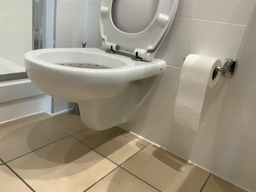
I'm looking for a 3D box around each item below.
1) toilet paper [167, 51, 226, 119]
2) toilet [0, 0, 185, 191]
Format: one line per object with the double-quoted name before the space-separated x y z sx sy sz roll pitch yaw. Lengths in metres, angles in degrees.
"toilet paper" 0.260 -0.050 0.820 0.140 0.220 0.100 22 23 31
"toilet" -0.110 -0.200 0.800 0.390 0.810 0.520 21 23 30
